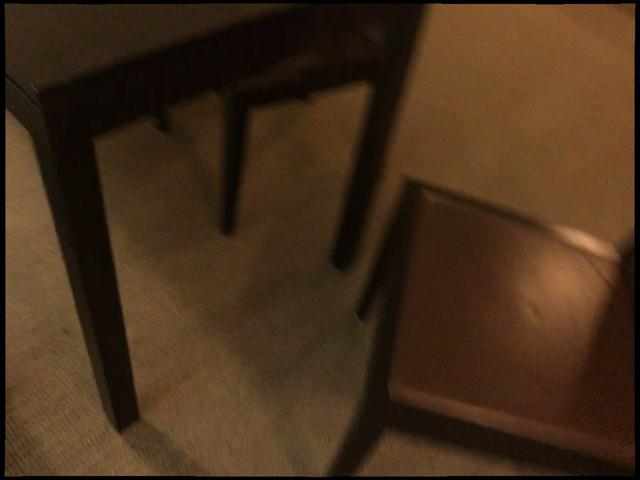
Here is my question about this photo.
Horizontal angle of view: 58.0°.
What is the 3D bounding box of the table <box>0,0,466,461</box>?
[{"bbox_3d":[-0.689,-0.551,1.410,1.739,0.861,0.850,38,50,22],"label":"table"}]
